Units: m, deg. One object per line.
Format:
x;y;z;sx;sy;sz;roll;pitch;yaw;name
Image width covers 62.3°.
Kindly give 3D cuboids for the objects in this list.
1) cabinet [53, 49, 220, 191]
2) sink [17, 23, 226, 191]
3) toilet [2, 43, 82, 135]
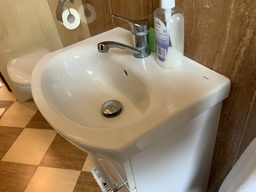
0.010;0.170;0.810;0.300;0.480;0.480;-27;43;-21;cabinet
-0.060;-0.020;0.630;0.380;0.150;0.490;-27;43;-21;sink
-0.680;-0.080;1.690;0.350;0.430;0.530;-27;43;-21;toilet
